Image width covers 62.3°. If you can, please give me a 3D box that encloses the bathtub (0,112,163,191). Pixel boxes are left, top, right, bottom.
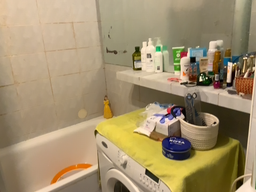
[{"bbox_3d":[-0.510,0.650,1.480,1.390,0.560,0.710,-16,21,-33],"label":"bathtub"}]
